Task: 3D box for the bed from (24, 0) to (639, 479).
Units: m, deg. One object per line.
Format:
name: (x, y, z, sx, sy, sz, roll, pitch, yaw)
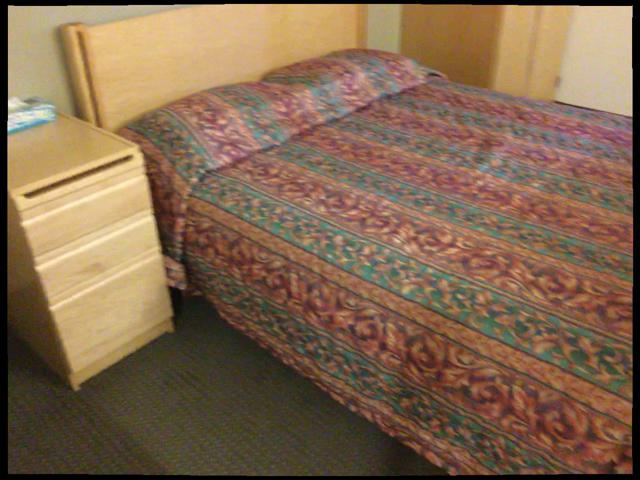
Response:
bed: (0.499, -0.250, 2.060, 1.869, 1.041, 2.358, -29, 41, -36)
